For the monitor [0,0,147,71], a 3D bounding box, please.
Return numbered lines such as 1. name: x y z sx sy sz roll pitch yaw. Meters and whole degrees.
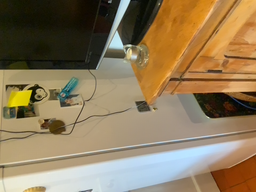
1. monitor: -0.180 -0.320 0.580 0.670 0.520 0.050 -56 43 47
